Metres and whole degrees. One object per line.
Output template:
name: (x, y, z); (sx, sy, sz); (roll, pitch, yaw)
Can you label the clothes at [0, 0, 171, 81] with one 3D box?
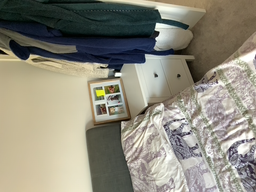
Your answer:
clothes: (-0.400, -0.430, 1.630); (0.640, 1.250, 0.320); (121, 141, -53)
